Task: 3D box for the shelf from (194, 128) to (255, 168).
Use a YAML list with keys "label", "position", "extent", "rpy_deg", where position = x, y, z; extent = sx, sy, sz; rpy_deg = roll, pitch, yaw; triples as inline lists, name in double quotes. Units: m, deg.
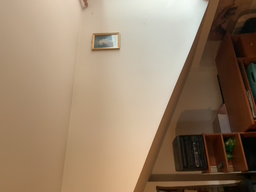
- label: "shelf"
  position: [1.260, 0.600, 2.420]
  extent: [0.480, 0.870, 0.340]
  rpy_deg: [76, -168, -64]
